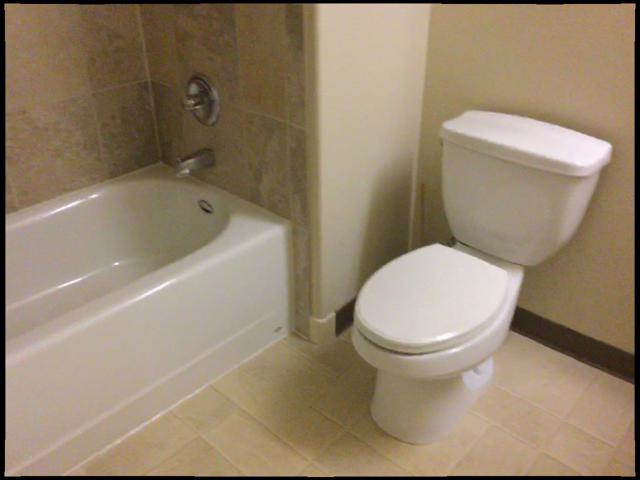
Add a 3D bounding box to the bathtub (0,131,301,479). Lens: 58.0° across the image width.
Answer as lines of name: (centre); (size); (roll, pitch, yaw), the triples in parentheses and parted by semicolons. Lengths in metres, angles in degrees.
bathtub: (-0.868, 0.240, 1.720); (0.769, 0.561, 1.509); (25, 40, 36)
